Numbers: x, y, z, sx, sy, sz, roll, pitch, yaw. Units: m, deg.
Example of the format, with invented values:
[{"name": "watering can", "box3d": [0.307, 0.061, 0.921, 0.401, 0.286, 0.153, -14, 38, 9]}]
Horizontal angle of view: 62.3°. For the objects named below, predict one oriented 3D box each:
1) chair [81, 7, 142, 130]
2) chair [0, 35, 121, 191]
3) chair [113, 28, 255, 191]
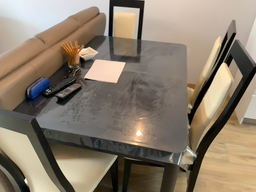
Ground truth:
[{"name": "chair", "box3d": [-0.130, -0.260, 2.040, 0.370, 0.990, 0.560, 9, 35, 8]}, {"name": "chair", "box3d": [-0.340, 0.330, 1.080, 0.420, 1.070, 0.560, 12, 35, 12]}, {"name": "chair", "box3d": [0.230, 0.200, 1.320, 0.560, 1.070, 0.410, 7, 34, 5]}]
